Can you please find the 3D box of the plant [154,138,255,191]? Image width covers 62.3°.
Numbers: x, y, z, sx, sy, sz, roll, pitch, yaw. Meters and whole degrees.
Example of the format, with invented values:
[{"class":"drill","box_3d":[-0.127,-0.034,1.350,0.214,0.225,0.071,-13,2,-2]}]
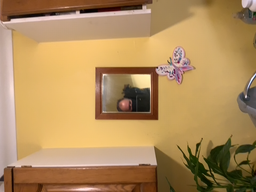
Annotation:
[{"class":"plant","box_3d":[0.420,0.380,0.770,0.320,0.610,0.390,23,-114,-87]}]
